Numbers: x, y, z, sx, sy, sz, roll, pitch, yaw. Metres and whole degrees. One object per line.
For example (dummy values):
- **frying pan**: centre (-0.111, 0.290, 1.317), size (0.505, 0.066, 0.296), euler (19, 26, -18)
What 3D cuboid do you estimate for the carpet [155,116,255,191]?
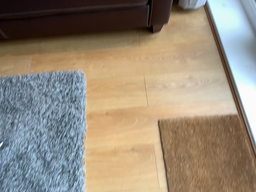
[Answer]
- **carpet**: centre (0.370, 0.380, 0.910), size (0.430, 0.030, 0.580), euler (-5, 64, 0)
